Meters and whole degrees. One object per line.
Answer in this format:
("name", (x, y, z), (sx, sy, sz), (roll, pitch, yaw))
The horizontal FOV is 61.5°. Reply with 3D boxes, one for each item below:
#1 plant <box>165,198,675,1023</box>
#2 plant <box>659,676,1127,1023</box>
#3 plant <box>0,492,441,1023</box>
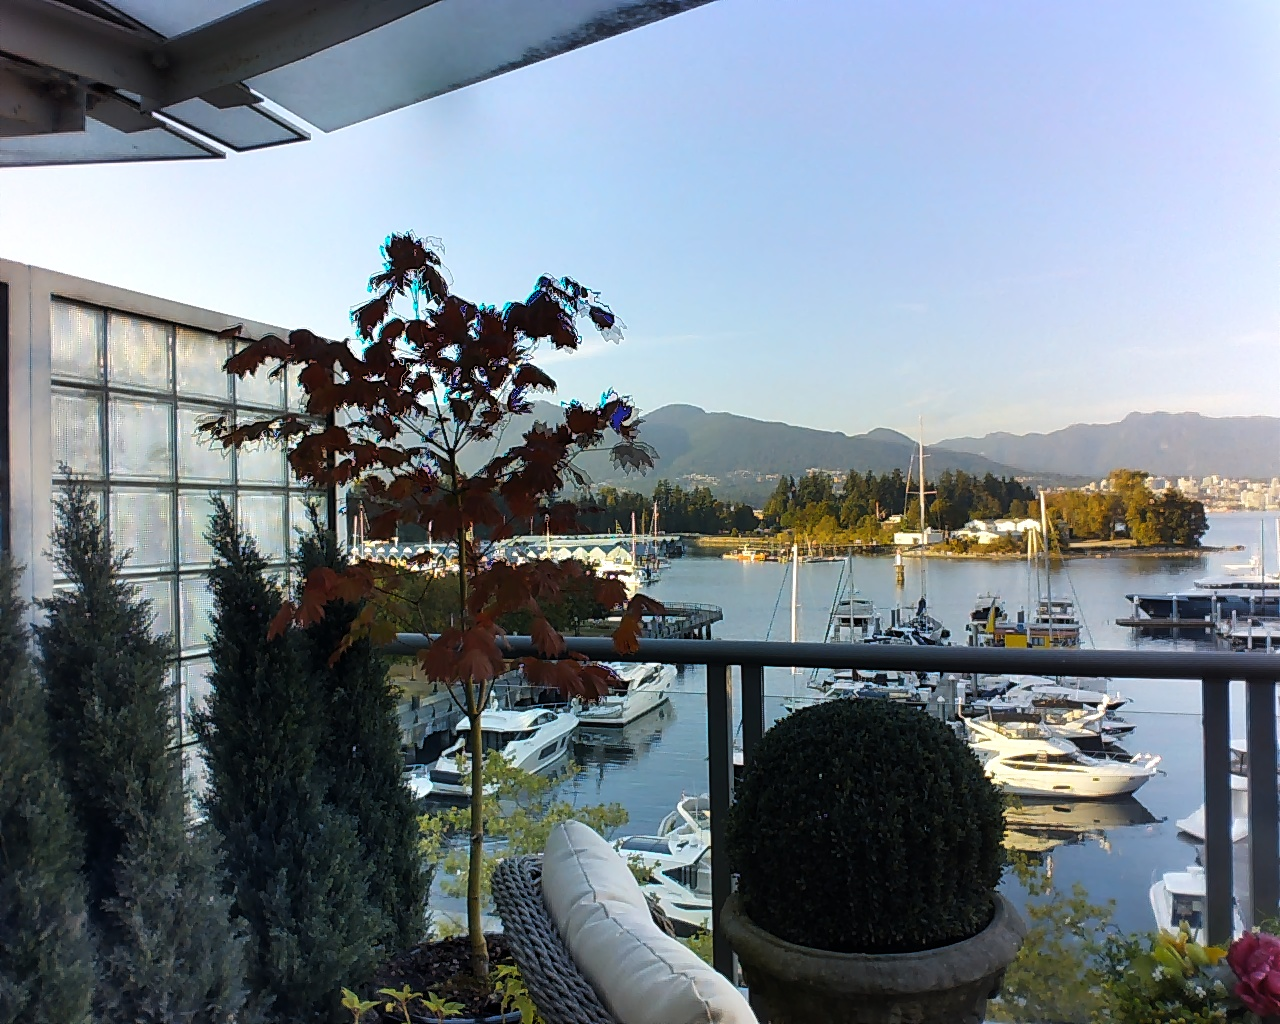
("plant", (-0.410, 0.440, 2.240), (0.860, 1.970, 0.710), (-1, -1, -6))
("plant", (0.490, 0.910, 2.200), (0.680, 1.020, 0.630), (-1, -1, -25))
("plant", (-1.040, 0.590, 1.960), (0.420, 1.230, 1.820), (-1, -1, 21))
